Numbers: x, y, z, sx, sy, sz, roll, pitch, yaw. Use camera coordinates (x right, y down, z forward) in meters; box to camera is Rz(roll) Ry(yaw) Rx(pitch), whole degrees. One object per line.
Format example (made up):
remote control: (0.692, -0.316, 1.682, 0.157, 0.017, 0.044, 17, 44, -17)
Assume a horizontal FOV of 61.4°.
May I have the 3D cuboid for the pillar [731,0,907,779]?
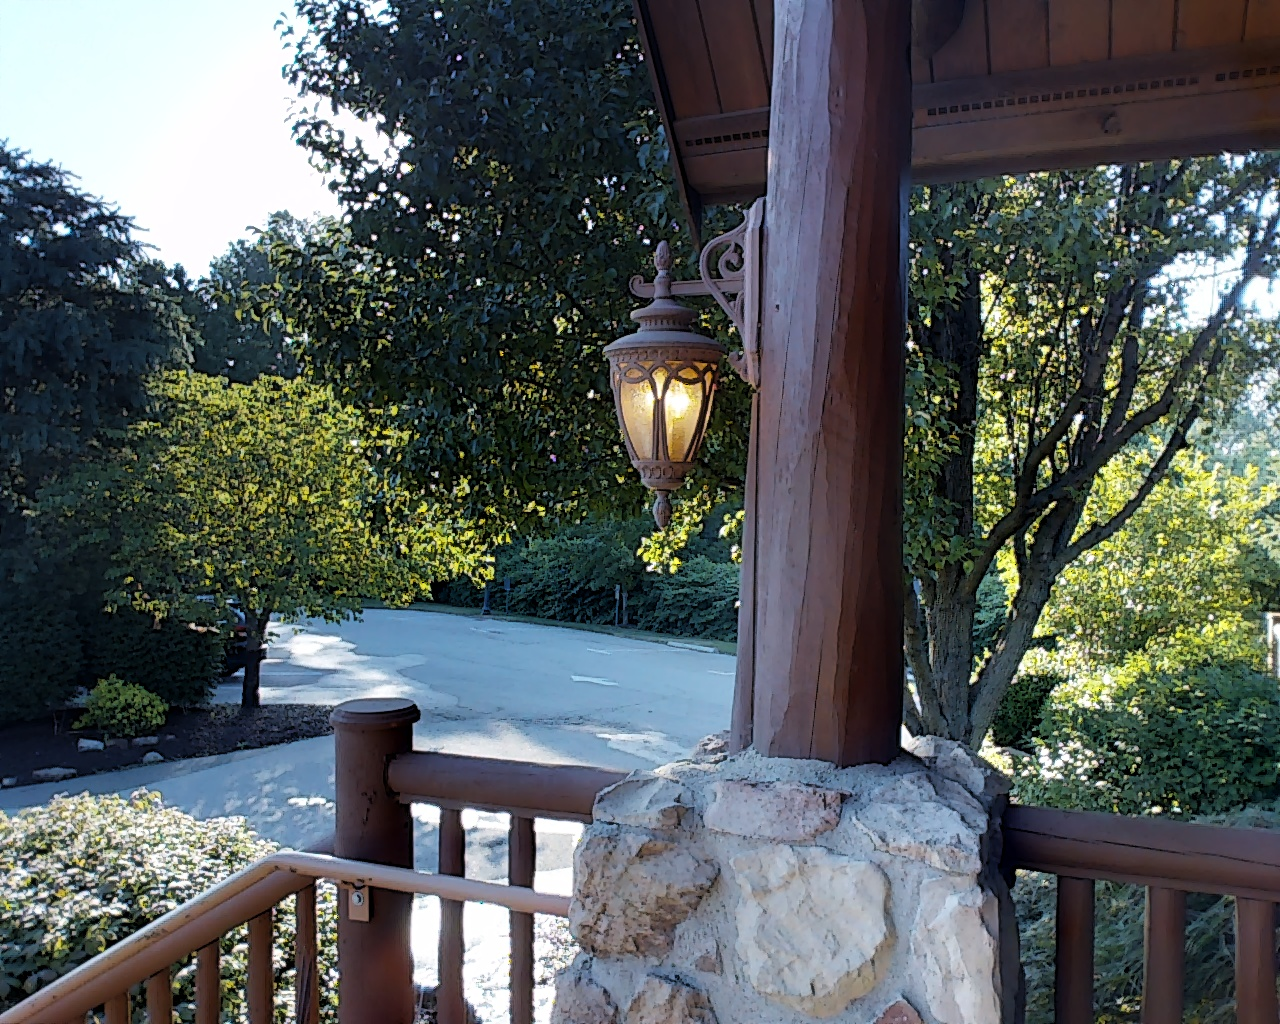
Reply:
pillar: (0.290, -0.300, 1.730, 0.240, 1.400, 0.140, 1, 0, 23)
